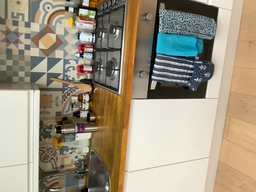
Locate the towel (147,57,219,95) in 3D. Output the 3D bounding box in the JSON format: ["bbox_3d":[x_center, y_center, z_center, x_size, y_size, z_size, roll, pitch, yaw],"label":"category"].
[{"bbox_3d":[0.340,-0.110,1.270,0.070,0.460,0.200,25,112,60],"label":"towel"}]

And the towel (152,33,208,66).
[{"bbox_3d":[0.300,-0.260,1.210,0.090,0.310,0.150,22,110,60],"label":"towel"}]

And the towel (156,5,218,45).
[{"bbox_3d":[0.350,-0.400,1.230,0.070,0.380,0.160,25,112,60],"label":"towel"}]

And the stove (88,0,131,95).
[{"bbox_3d":[-0.150,-0.330,1.370,0.580,0.020,0.540,24,111,60],"label":"stove"}]

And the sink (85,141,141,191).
[{"bbox_3d":[-0.140,0.660,1.630,0.450,0.240,0.450,24,111,60],"label":"sink"}]
